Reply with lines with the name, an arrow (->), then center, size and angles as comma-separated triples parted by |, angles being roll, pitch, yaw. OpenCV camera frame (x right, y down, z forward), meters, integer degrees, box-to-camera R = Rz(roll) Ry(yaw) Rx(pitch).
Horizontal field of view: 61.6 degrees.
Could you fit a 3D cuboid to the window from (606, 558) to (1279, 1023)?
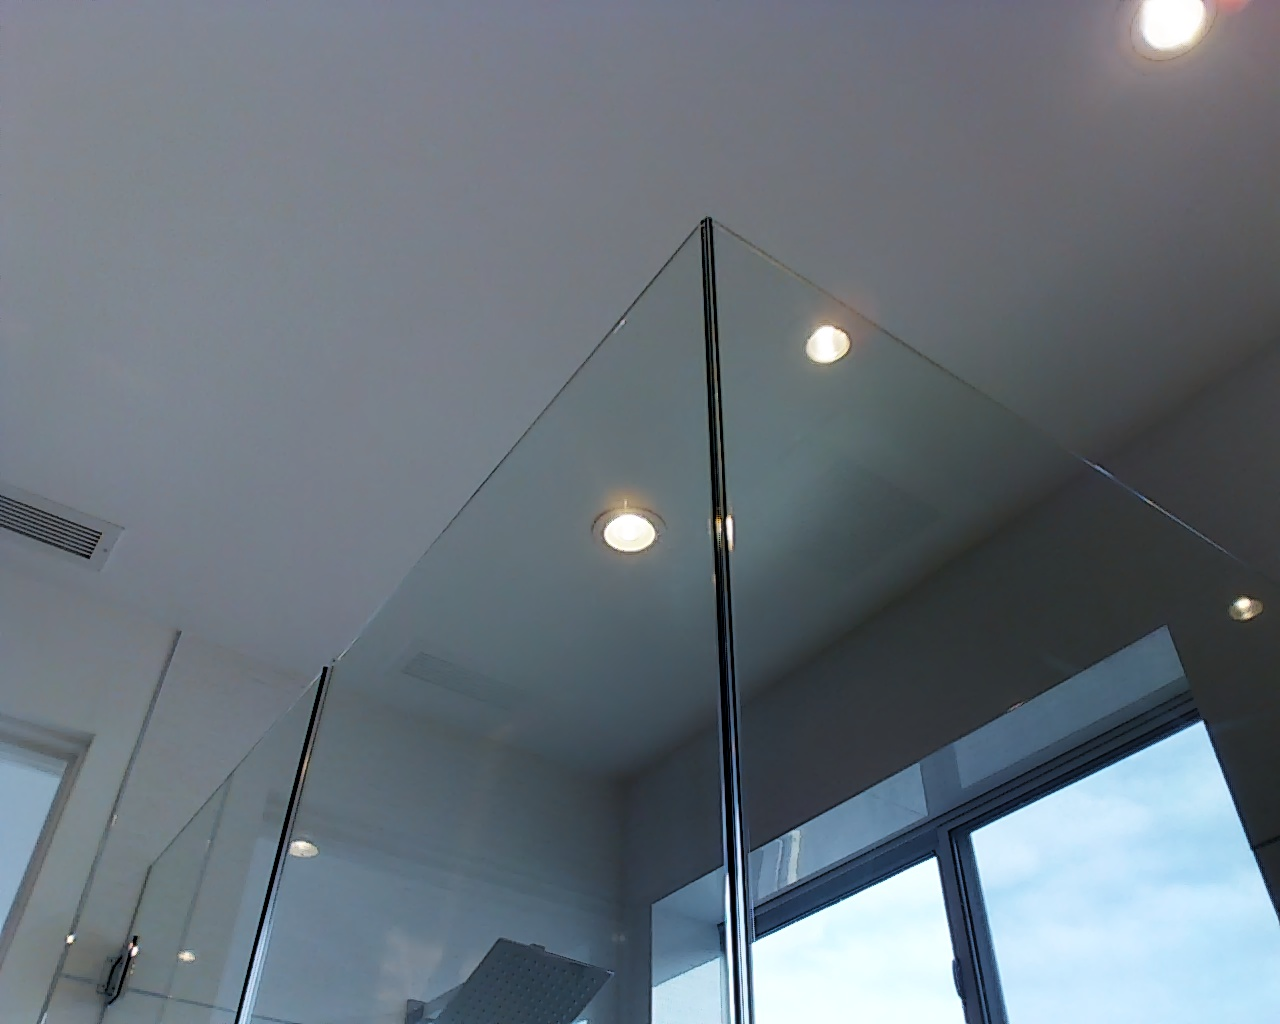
window -> 0.420, 0.720, 1.760 | 0.250, 0.650, 1.350 | 26, -47, -25
